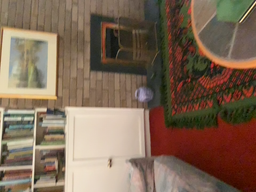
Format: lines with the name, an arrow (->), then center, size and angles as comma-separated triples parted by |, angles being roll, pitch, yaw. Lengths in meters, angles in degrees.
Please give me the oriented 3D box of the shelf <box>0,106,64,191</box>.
shelf -> -1.320, 0.730, 2.240 | 0.280, 1.170, 1.230 | 156, 114, -67
